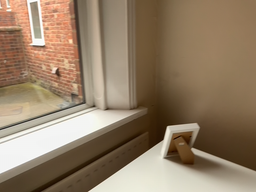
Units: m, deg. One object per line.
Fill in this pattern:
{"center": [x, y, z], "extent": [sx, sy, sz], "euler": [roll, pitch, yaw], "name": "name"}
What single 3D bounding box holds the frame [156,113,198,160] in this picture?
{"center": [0.220, 0.180, 0.990], "extent": [0.130, 0.140, 0.180], "euler": [-3, 18, -6], "name": "frame"}
